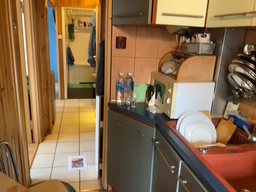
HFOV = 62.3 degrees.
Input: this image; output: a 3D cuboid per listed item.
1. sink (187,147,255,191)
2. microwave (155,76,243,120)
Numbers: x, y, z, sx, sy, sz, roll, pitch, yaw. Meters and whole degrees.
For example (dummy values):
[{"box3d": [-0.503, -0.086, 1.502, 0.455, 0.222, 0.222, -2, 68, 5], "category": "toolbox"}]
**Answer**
[{"box3d": [0.620, 0.440, 1.000, 0.510, 0.200, 0.410, 0, 16, -13], "category": "sink"}, {"box3d": [0.540, -0.010, 1.730, 0.470, 0.220, 0.490, -1, 16, -14], "category": "microwave"}]
